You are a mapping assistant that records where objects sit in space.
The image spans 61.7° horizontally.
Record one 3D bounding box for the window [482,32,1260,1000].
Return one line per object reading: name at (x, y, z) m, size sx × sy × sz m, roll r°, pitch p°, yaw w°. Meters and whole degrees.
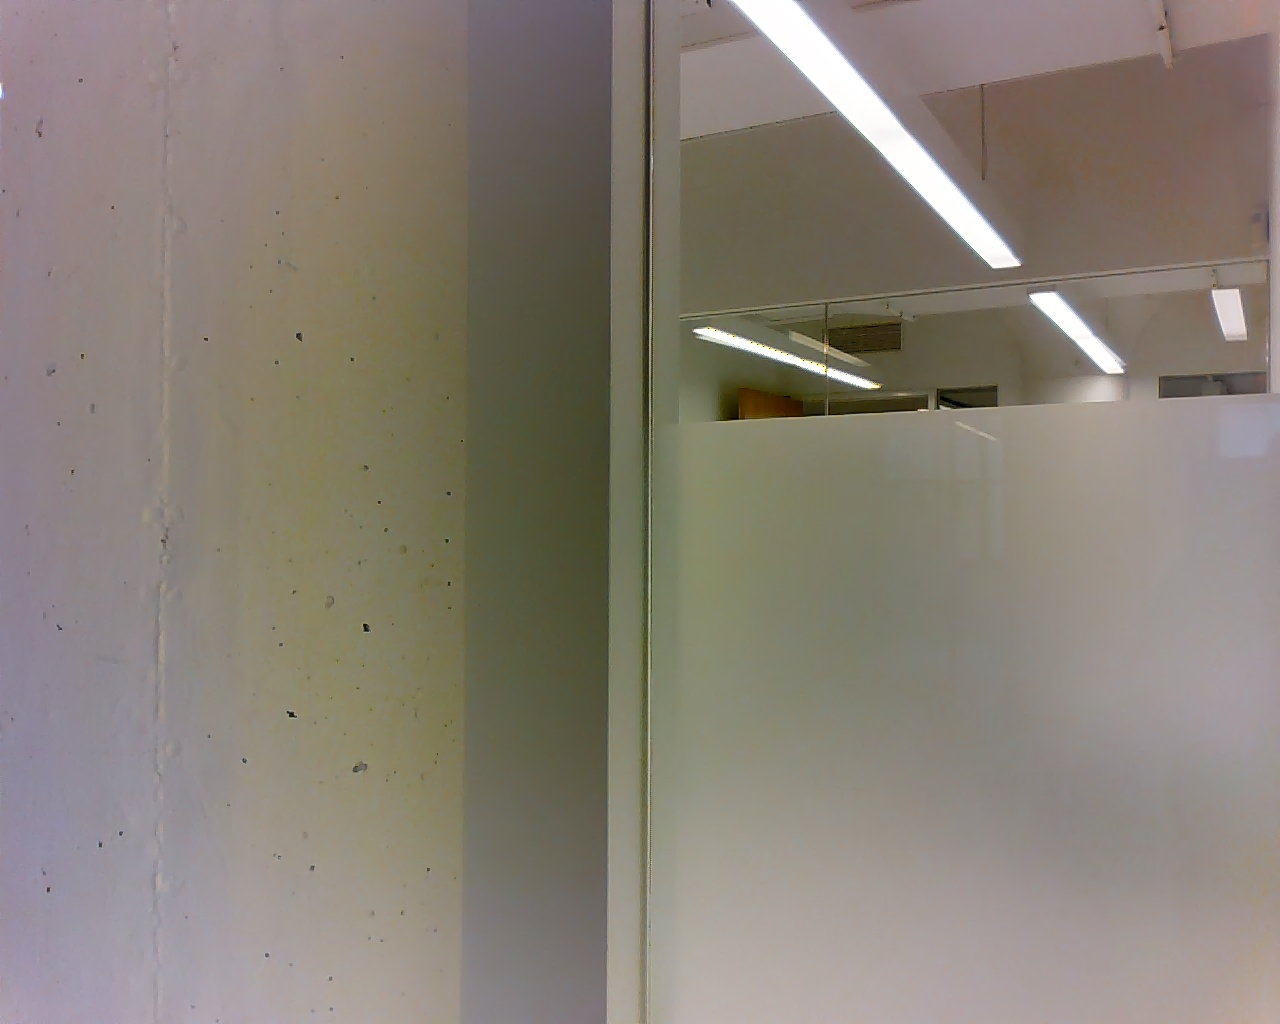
window at (0.630, 0.010, 4.060) m, size 2.969 × 2.971 × 0.110 m, roll 0°, pitch -1°, yaw 29°
